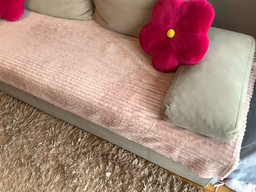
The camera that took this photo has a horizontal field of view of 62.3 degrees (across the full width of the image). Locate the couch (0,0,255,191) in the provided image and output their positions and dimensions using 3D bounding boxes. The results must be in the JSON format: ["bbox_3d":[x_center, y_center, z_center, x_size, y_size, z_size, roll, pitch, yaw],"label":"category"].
[{"bbox_3d":[-0.250,-0.410,1.340,1.960,0.820,1.020,22,58,18],"label":"couch"}]
